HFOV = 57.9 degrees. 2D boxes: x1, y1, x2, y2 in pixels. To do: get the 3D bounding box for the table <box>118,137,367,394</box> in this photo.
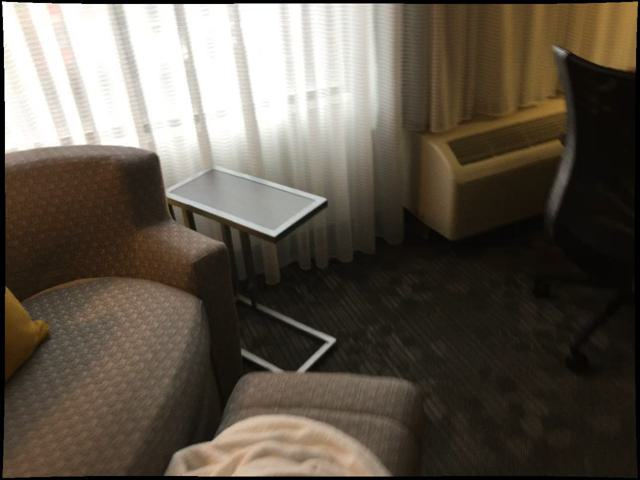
[{"bbox_3d":[-0.230,0.060,2.040,0.640,0.590,0.490,16,39,24],"label":"table"}]
